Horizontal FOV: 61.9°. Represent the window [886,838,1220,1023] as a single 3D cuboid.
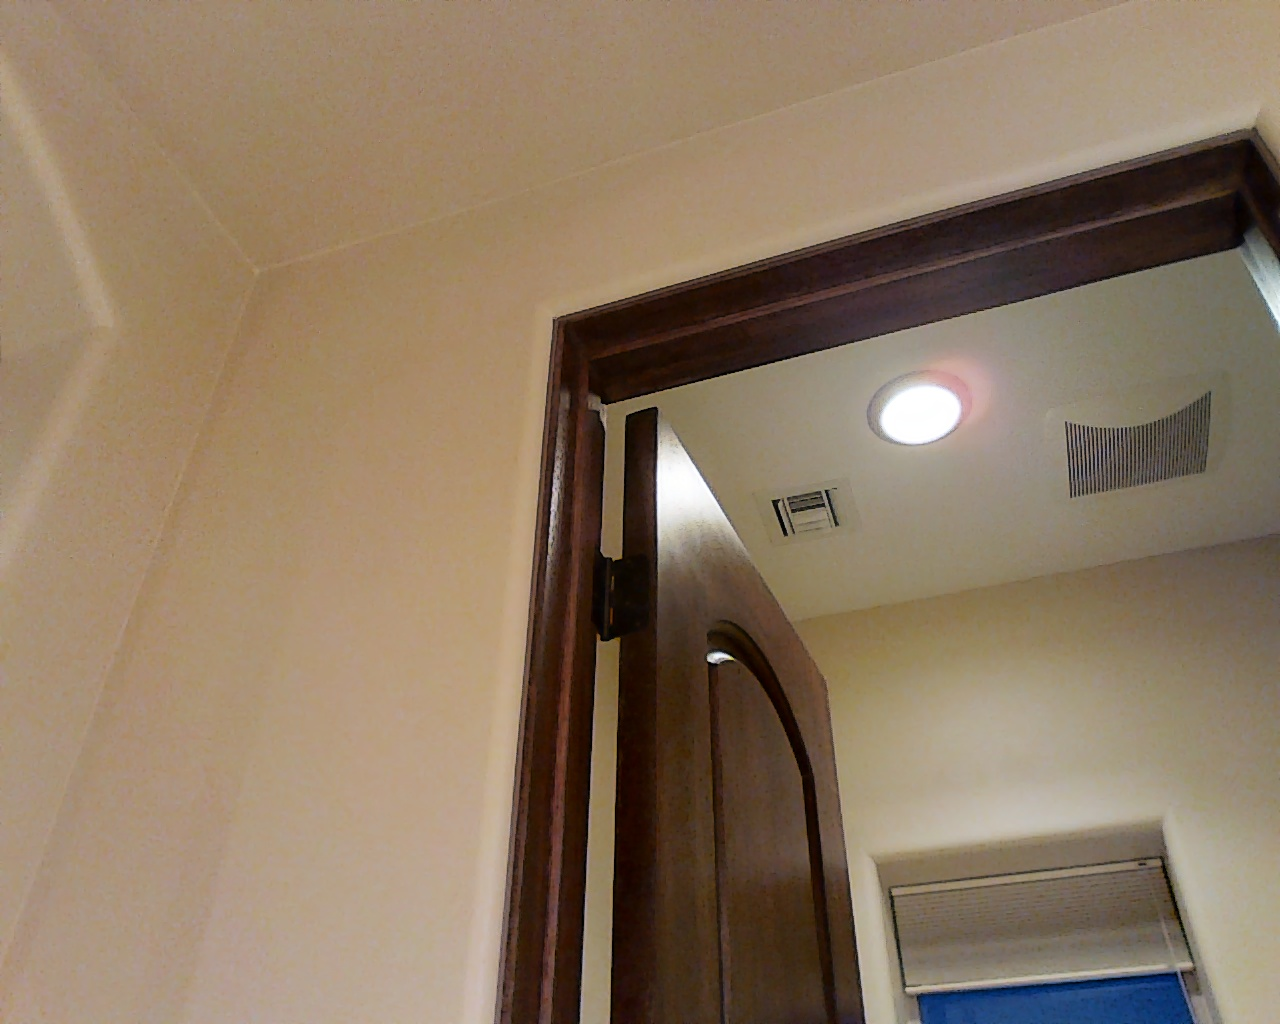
[{"bbox_3d":[0.830,0.990,2.150,0.580,0.600,0.050,-12,-42,15],"label":"window"}]
